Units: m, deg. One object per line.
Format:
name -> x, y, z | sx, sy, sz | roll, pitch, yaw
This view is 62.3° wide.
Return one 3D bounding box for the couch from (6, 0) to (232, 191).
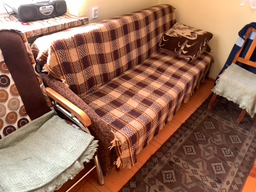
couch -> 0.140, -0.320, 2.160 | 1.000, 0.840, 2.060 | 28, 40, 24
